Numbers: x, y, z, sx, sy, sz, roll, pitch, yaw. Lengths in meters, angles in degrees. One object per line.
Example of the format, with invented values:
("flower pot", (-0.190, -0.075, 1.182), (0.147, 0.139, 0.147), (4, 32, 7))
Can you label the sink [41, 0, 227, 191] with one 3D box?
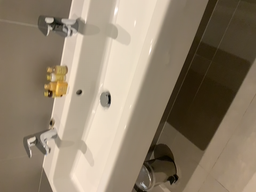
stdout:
("sink", (-0.090, 0.040, 0.780), (0.470, 0.190, 0.990), (40, 121, 42))
